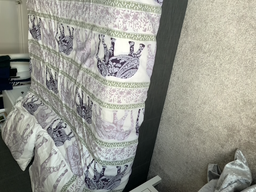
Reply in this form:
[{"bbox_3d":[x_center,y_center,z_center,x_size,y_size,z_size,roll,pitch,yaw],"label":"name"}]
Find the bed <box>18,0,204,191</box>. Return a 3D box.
[{"bbox_3d":[-0.360,-0.330,1.690,1.590,0.500,2.220,33,123,42],"label":"bed"}]
